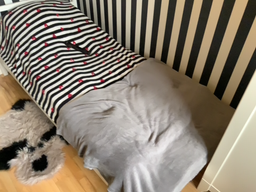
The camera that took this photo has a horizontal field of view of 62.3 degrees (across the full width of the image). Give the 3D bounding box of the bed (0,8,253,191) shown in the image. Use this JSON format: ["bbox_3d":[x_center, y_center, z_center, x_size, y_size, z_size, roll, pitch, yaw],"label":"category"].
[{"bbox_3d":[-0.290,-0.110,1.830,1.010,0.440,2.140,-32,52,-31],"label":"bed"}]
